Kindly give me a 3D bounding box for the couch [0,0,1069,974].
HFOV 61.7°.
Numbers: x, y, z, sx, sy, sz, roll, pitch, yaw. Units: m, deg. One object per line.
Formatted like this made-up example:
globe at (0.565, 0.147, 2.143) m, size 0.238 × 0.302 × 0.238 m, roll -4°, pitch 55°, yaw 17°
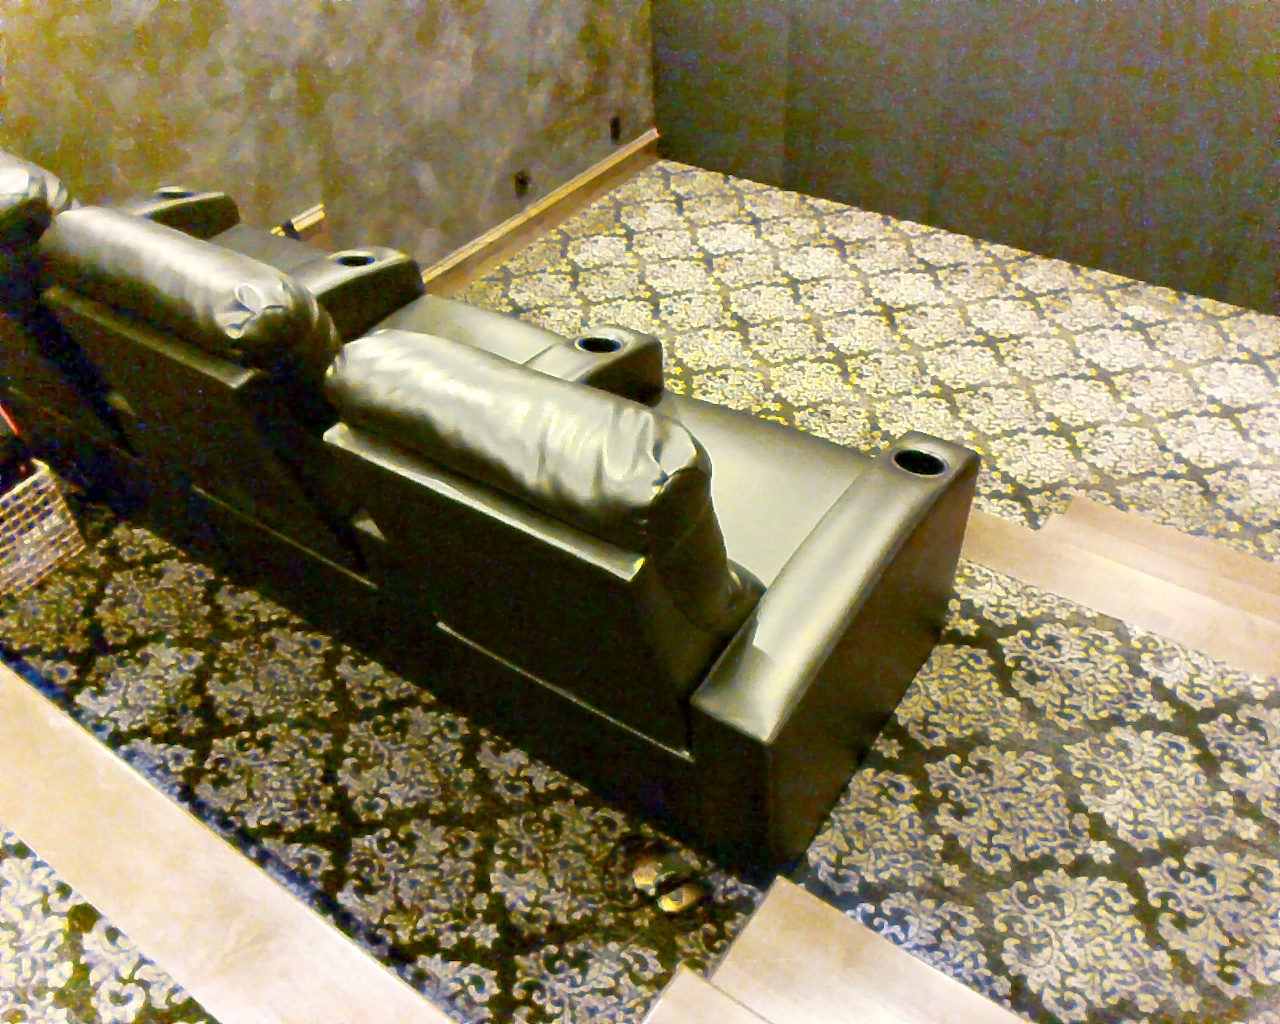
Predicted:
couch at (-0.560, -0.310, 2.390) m, size 2.460 × 1.040 × 1.020 m, roll 24°, pitch 49°, yaw 27°
